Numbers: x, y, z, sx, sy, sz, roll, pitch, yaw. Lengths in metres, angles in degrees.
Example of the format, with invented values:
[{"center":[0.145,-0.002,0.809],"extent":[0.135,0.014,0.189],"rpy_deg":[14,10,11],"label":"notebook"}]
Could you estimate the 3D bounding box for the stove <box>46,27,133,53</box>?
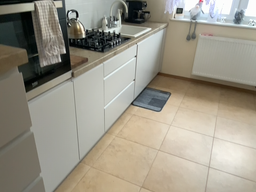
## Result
[{"center":[-0.340,-0.570,2.080],"extent":[0.580,0.040,0.660],"rpy_deg":[14,30,20],"label":"stove"}]
